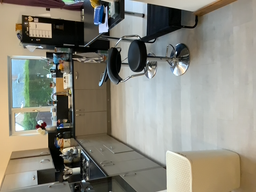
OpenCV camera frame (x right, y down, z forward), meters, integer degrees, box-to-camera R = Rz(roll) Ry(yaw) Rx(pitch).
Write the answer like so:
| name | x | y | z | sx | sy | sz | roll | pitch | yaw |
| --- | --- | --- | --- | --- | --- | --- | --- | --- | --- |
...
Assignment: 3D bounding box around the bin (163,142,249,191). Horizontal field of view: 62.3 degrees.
| name | x | y | z | sx | sy | sz | roll | pitch | yaw |
| --- | --- | --- | --- | --- | --- | --- | --- | --- | --- |
| bin | 0.670 | 0.680 | 1.830 | 0.340 | 0.650 | 0.430 | -179 | 88 | -65 |
